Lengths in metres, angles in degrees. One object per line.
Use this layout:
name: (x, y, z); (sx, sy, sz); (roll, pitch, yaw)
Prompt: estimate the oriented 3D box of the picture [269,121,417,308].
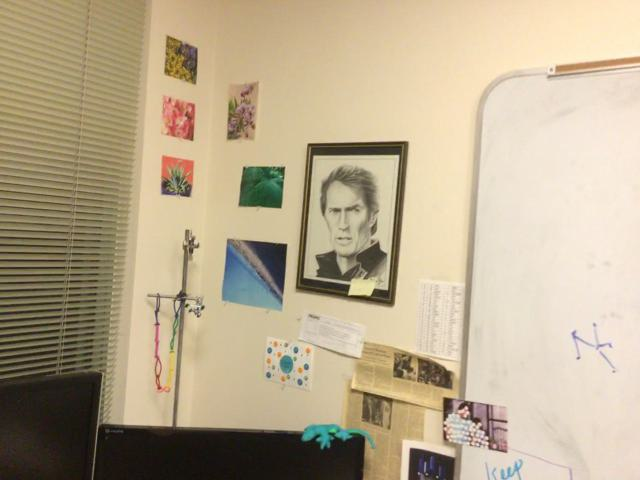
picture: (0.050, -0.070, 1.550); (0.410, 0.460, 0.040); (3, -2, 34)
